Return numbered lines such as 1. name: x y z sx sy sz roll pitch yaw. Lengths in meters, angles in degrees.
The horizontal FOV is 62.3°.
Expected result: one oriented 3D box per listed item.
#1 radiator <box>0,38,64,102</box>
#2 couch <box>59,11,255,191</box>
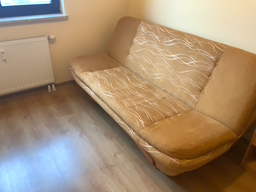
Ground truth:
1. radiator: -1.360 -0.280 2.470 1.120 0.610 0.160 -16 36 -28
2. couch: 0.200 -0.210 2.220 1.060 0.900 2.090 -17 36 -30
